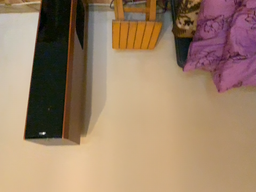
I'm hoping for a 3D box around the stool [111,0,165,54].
[{"bbox_3d":[0.050,-0.590,1.470,0.320,0.480,0.330,-1,162,-1],"label":"stool"}]
